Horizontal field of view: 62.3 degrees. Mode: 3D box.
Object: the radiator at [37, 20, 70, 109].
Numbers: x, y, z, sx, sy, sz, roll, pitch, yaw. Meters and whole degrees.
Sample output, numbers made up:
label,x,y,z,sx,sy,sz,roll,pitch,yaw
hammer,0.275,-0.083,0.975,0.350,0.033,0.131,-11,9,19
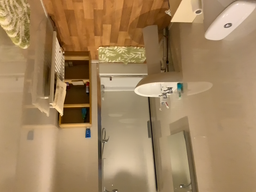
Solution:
label,x,y,z,sx,sy,sz,roll,pitch,yaw
radiator,-0.830,-0.320,2.450,0.200,0.810,0.660,-1,165,-8
